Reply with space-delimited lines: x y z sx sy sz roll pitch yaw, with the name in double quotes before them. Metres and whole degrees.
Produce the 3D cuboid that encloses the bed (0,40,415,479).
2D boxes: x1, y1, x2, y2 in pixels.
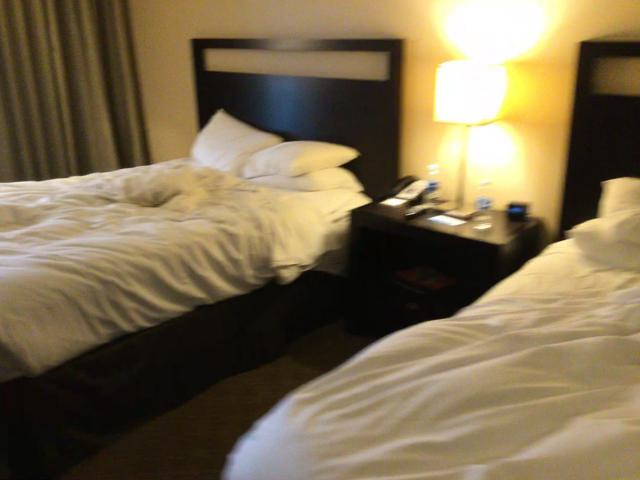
"bed" -0.940 -0.200 2.830 1.730 1.400 2.300 16 22 38
